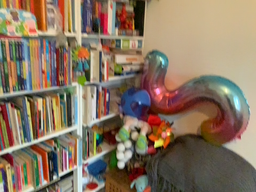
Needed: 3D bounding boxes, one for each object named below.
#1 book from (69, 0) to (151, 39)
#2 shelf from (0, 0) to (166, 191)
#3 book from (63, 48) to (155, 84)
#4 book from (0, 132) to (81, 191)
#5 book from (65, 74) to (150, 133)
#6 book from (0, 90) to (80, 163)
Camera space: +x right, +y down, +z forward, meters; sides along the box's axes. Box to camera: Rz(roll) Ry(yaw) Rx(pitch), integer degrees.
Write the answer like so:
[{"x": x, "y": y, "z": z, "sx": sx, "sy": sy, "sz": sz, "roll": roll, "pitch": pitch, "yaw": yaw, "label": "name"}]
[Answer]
[{"x": -0.100, "y": -0.600, "z": 1.630, "sx": 0.150, "sy": 0.280, "sz": 0.740, "roll": 16, "pitch": 20, "yaw": 36, "label": "book"}, {"x": -0.370, "y": 0.240, "z": 1.540, "sx": 0.320, "sy": 1.940, "sz": 1.510, "roll": 17, "pitch": 20, "yaw": 38, "label": "shelf"}, {"x": -0.120, "y": -0.270, "z": 1.730, "sx": 0.270, "sy": 0.210, "sz": 0.740, "roll": 18, "pitch": 21, "yaw": 41, "label": "book"}, {"x": -0.600, "y": 0.440, "z": 1.350, "sx": 0.200, "sy": 0.210, "sz": 0.580, "roll": 17, "pitch": 21, "yaw": 40, "label": "book"}, {"x": -0.140, "y": 0.020, "z": 1.820, "sx": 0.220, "sy": 0.330, "sz": 0.760, "roll": 17, "pitch": 20, "yaw": 39, "label": "book"}, {"x": -0.590, "y": 0.160, "z": 1.260, "sx": 0.190, "sy": 0.270, "sz": 0.600, "roll": 16, "pitch": 20, "yaw": 37, "label": "book"}]
